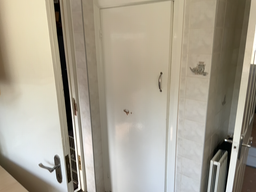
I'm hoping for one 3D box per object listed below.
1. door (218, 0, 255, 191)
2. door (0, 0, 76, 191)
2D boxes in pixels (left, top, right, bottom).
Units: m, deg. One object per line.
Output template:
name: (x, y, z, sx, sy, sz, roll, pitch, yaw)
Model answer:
door: (0.850, 0.190, 1.540, 0.070, 2.100, 0.860, 12, 21, 36)
door: (-0.590, 0.340, 1.290, 0.670, 2.090, 0.130, 13, 22, 38)
